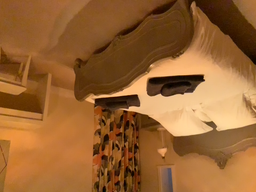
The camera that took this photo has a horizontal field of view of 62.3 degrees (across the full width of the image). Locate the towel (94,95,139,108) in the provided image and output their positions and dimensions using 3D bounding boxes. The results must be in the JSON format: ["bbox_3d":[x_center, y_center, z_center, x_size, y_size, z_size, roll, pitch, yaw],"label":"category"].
[{"bbox_3d":[-0.130,0.070,2.520,0.500,0.070,0.210,-4,161,7],"label":"towel"}]

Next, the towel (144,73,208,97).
[{"bbox_3d":[0.450,-0.100,2.060,0.560,0.120,0.230,-4,161,7],"label":"towel"}]

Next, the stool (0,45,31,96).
[{"bbox_3d":[-1.470,-0.300,2.540,0.320,0.460,0.410,-19,154,41],"label":"stool"}]

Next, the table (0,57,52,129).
[{"bbox_3d":[-1.720,-0.060,2.740,1.240,0.790,0.440,14,156,-38],"label":"table"}]
